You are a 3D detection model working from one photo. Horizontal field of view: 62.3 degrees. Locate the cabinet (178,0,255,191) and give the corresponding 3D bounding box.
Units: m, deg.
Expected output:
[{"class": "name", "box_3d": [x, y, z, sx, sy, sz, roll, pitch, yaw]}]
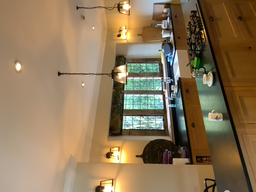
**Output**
[{"class": "cabinet", "box_3d": [1.350, -0.620, 2.740, 0.700, 0.920, 3.720, 88, -177, -56]}]
